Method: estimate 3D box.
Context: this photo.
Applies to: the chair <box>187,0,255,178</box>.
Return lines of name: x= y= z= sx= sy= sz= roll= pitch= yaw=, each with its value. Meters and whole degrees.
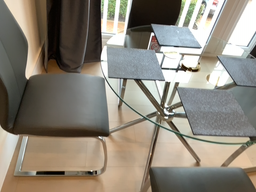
chair: x=0.890 y=0.020 z=1.320 sx=0.580 sy=1.030 sz=0.460 roll=0 pitch=44 yaw=-13

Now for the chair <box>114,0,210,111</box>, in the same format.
chair: x=0.170 y=-0.440 z=1.660 sx=0.440 sy=1.030 sz=0.540 roll=4 pitch=43 yaw=-9
